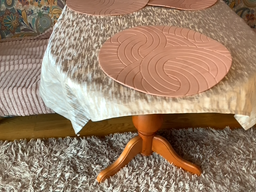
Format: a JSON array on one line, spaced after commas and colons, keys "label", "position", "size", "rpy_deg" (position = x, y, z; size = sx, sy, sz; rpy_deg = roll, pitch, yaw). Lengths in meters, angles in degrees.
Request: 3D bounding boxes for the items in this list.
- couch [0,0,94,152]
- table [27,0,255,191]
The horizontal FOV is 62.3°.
[{"label": "couch", "position": [-0.650, -0.390, 1.190], "size": [0.780, 1.020, 0.950], "rpy_deg": [-4, 44, -4]}, {"label": "table", "position": [0.080, -0.220, 1.230], "size": [0.730, 0.710, 1.430], "rpy_deg": [-4, 44, -4]}]
